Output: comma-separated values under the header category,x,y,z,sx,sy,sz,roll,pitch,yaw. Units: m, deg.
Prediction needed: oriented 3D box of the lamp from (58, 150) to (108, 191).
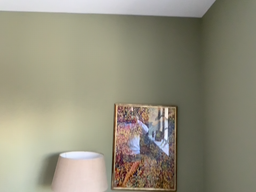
category,x,y,z,sx,sy,sz,roll,pitch,yaw
lamp,-0.310,0.750,1.500,0.280,0.650,0.360,2,-5,-2
